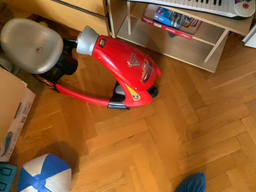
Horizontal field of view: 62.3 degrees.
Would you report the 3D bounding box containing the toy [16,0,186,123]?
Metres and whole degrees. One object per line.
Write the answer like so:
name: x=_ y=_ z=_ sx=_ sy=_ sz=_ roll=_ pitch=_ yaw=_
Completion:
toy: x=-0.100 y=-0.190 z=1.040 sx=0.550 sy=0.470 sz=0.360 roll=25 pitch=74 yaw=8
